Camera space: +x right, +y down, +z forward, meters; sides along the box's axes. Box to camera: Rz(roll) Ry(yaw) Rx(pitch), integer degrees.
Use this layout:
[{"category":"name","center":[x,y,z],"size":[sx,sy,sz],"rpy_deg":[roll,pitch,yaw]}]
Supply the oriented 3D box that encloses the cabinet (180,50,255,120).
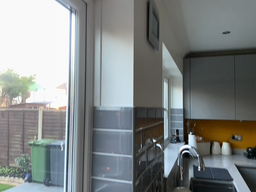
[{"category":"cabinet","center":[1.400,-0.140,3.170],"size":[1.180,0.950,0.340],"rpy_deg":[-1,-4,18]}]
